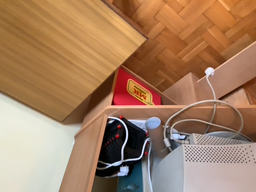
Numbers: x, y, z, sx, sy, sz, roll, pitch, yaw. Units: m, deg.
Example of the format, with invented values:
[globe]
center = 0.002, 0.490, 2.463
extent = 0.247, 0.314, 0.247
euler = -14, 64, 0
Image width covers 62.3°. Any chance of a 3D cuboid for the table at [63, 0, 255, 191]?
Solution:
[table]
center = 0.350, -0.030, 1.220
extent = 0.890, 0.740, 0.950
euler = 33, 130, -23
